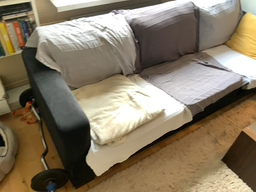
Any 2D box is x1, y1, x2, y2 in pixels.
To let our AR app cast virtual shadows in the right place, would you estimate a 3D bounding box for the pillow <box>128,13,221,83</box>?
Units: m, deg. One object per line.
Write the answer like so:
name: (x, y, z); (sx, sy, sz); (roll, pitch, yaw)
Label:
pillow: (0.390, -0.420, 1.810); (0.760, 0.410, 0.170); (-18, 48, -23)
